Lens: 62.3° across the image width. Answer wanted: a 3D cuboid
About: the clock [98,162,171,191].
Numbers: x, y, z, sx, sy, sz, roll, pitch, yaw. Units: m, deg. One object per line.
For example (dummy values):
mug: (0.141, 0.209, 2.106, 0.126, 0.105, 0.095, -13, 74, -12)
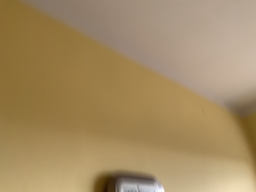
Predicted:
clock: (0.040, 0.380, 0.720, 0.310, 0.250, 0.050, 24, -44, -35)
